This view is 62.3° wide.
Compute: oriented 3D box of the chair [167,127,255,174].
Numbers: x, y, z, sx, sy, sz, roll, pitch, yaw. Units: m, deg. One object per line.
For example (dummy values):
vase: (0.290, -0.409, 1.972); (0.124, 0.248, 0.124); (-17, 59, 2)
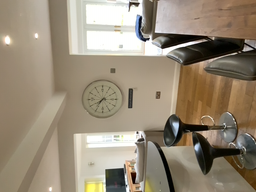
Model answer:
chair: (0.890, 0.600, 2.340); (0.370, 0.770, 0.360); (100, 167, -50)

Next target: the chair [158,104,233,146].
chair: (0.830, 0.380, 2.720); (0.390, 0.770, 0.410); (106, 162, -61)
